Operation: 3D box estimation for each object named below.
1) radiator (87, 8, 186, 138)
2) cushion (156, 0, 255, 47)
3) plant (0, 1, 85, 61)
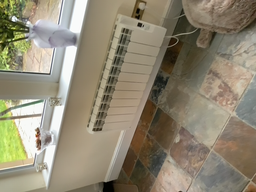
[{"bbox_3d":[0.060,-0.130,1.810,0.150,0.570,1.030,42,121,44],"label":"radiator"},{"bbox_3d":[0.630,-0.840,1.340,0.650,0.280,0.850,40,119,45],"label":"cushion"},{"bbox_3d":[-0.710,-0.460,1.440,0.430,0.670,0.250,37,117,46],"label":"plant"}]
